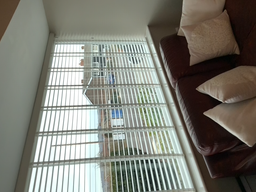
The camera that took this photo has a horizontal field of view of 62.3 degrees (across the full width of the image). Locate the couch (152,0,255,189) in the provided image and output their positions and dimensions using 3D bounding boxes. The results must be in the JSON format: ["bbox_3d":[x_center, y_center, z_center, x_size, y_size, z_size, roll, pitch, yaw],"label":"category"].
[{"bbox_3d":[0.830,-0.300,1.710,0.980,0.820,1.640,97,168,-49],"label":"couch"}]
